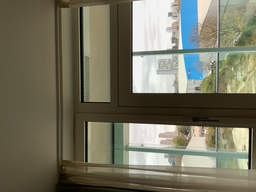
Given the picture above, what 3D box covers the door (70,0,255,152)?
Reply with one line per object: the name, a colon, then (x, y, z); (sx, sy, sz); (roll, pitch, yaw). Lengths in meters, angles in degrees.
door: (0.780, -0.150, 1.500); (0.060, 2.560, 1.070); (-6, -83, -77)
